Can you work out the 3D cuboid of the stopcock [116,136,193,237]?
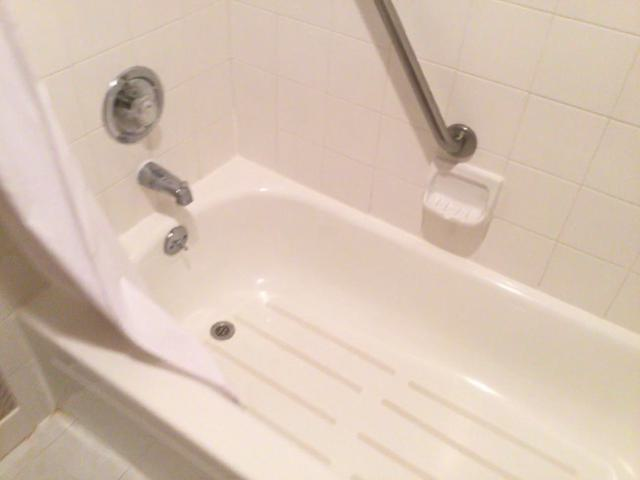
[{"bbox_3d":[-0.400,-0.130,1.420,0.090,0.190,0.130,21,49,17],"label":"stopcock"}]

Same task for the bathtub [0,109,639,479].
[{"bbox_3d":[0.140,0.330,1.250,1.450,0.530,0.750,25,48,23],"label":"bathtub"}]
